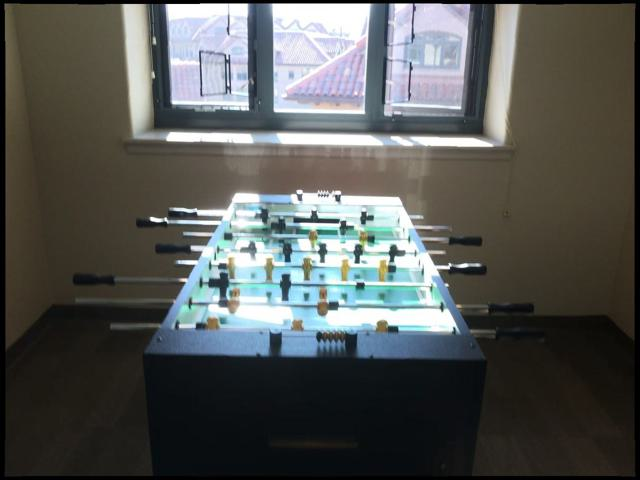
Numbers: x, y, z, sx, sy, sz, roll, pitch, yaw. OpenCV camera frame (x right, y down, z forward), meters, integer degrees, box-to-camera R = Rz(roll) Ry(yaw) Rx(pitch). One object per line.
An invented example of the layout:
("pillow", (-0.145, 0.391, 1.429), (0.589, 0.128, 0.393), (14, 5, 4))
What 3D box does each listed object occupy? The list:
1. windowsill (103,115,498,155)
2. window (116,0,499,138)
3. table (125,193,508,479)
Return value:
("windowsill", (-0.090, -0.571, 3.110), (1.976, 0.080, 0.450), (1, 19, -3))
("window", (-0.060, -1.233, 3.120), (1.966, 1.252, 0.300), (1, 19, -3))
("table", (-0.050, 0.471, 2.000), (0.778, 0.922, 1.440), (1, 19, -3))
